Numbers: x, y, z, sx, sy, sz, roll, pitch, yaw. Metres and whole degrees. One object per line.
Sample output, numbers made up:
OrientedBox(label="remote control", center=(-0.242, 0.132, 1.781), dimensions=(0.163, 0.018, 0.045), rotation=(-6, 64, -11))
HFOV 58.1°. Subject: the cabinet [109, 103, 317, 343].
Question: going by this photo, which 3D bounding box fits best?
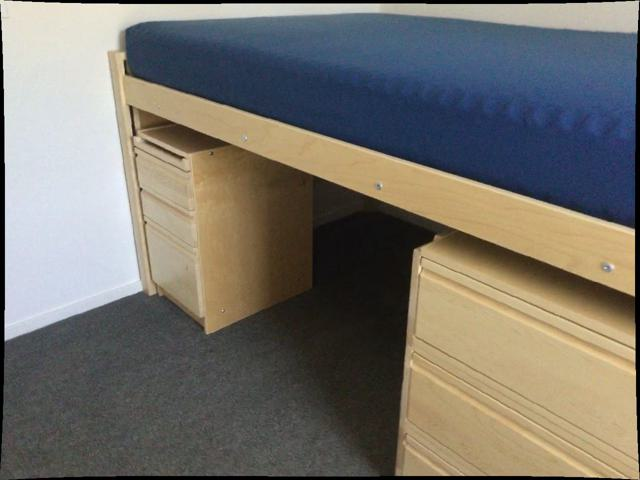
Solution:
OrientedBox(label="cabinet", center=(-0.409, -0.110, 2.370), dimensions=(0.610, 0.731, 0.510), rotation=(-22, 33, -39))
